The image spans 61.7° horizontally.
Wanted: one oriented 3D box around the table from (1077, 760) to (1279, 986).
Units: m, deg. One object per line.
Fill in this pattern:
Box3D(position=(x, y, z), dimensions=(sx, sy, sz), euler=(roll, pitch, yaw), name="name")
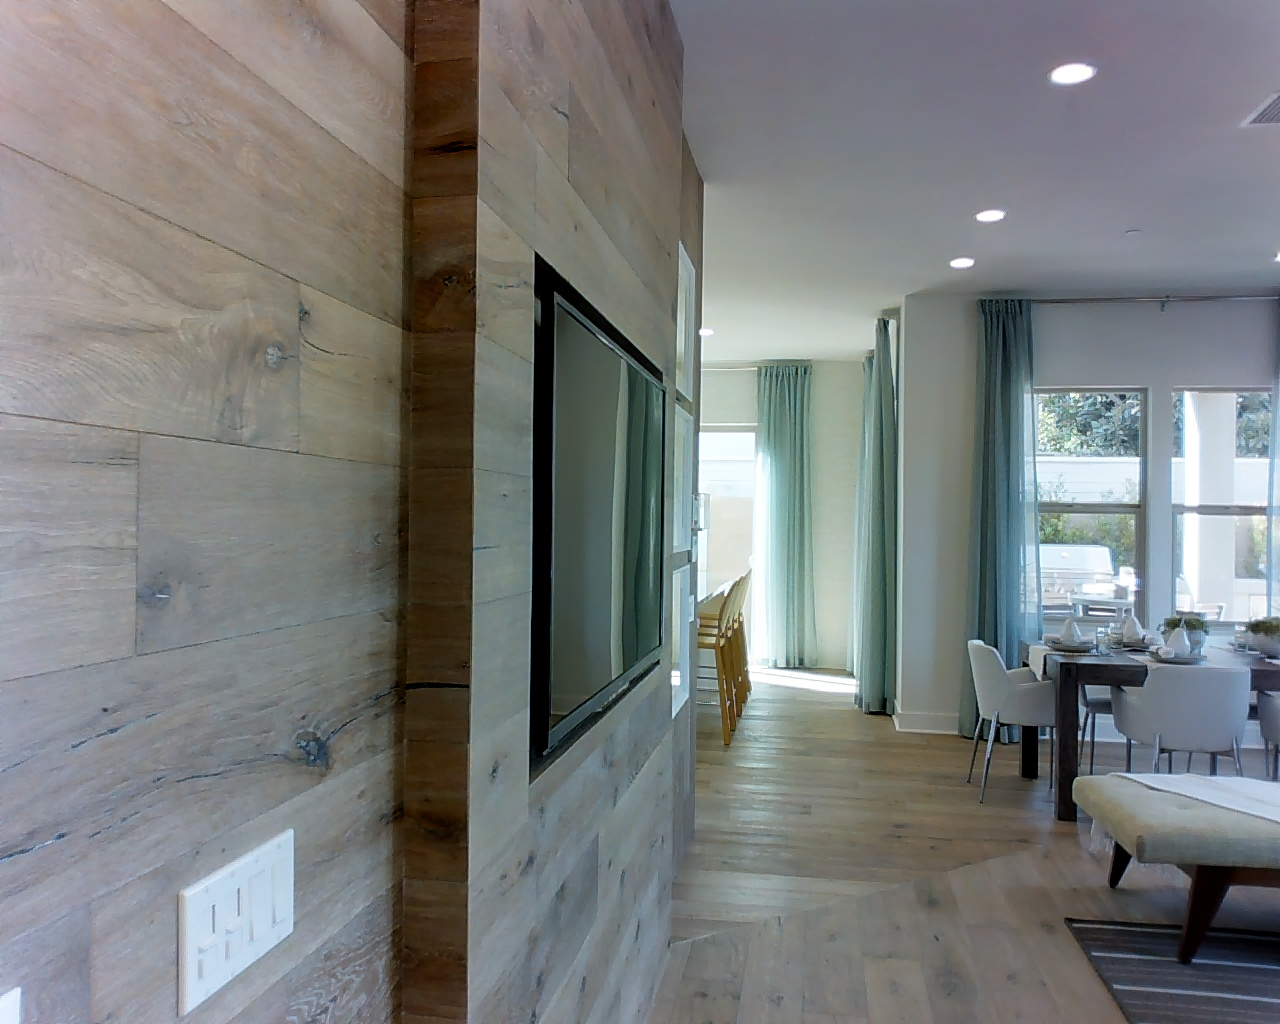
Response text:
Box3D(position=(2.479, 1.281, 3.860), dimensions=(1.509, 0.500, 0.930), euler=(0, 0, 10), name="table")
